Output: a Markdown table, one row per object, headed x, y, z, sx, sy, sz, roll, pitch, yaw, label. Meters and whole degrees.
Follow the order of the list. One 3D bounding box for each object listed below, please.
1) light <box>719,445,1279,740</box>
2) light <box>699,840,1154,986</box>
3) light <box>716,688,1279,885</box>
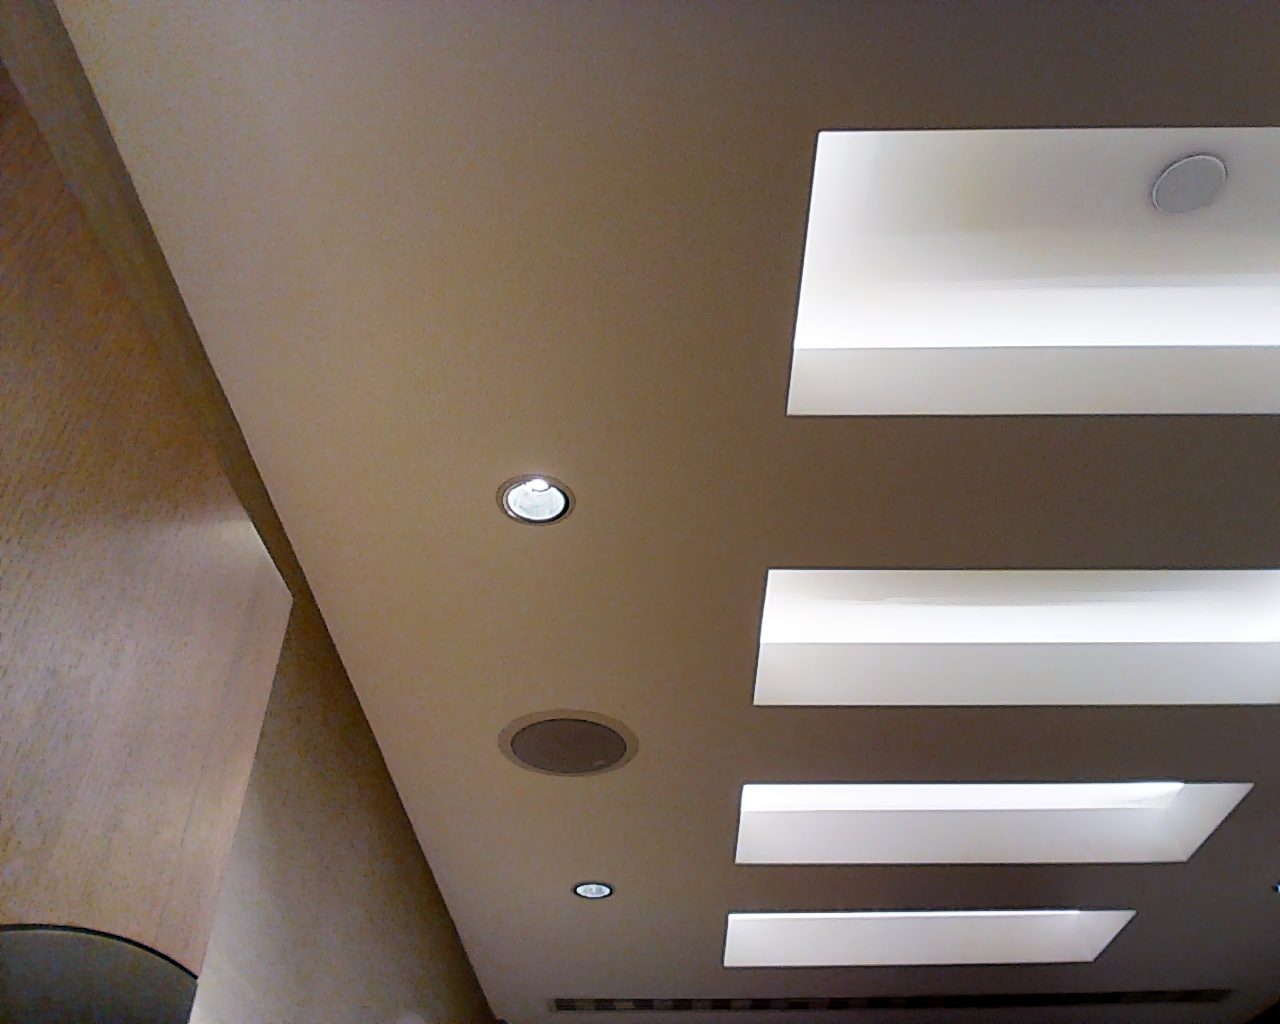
| x | y | z | sx | sy | sz | roll | pitch | yaw | label |
| --- | --- | --- | --- | --- | --- | --- | --- | --- | --- |
| 0.690 | 0.150 | 1.780 | 1.089 | 0.210 | 0.520 | -1 | -41 | 1 | light |
| 0.720 | 1.091 | 2.900 | 1.099 | 0.210 | 0.470 | -1 | -41 | 1 | light |
| 0.720 | 0.610 | 2.340 | 1.079 | 0.200 | 0.510 | -1 | -41 | 1 | light |
